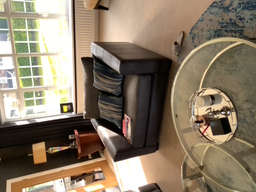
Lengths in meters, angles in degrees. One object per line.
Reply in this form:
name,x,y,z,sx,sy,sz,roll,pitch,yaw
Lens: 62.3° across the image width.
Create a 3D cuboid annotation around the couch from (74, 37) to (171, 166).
couch,-0.190,-0.030,2.880,1.130,0.800,1.300,43,133,54
